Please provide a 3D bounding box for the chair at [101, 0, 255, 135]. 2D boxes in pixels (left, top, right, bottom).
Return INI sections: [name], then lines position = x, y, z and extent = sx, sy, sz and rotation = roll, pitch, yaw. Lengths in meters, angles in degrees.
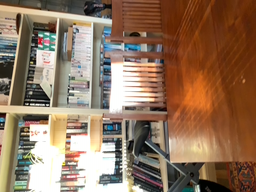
[chair]
position = 0.450, -0.090, 1.070
extent = 0.570, 1.090, 0.500
rotation = 133, 138, -68
